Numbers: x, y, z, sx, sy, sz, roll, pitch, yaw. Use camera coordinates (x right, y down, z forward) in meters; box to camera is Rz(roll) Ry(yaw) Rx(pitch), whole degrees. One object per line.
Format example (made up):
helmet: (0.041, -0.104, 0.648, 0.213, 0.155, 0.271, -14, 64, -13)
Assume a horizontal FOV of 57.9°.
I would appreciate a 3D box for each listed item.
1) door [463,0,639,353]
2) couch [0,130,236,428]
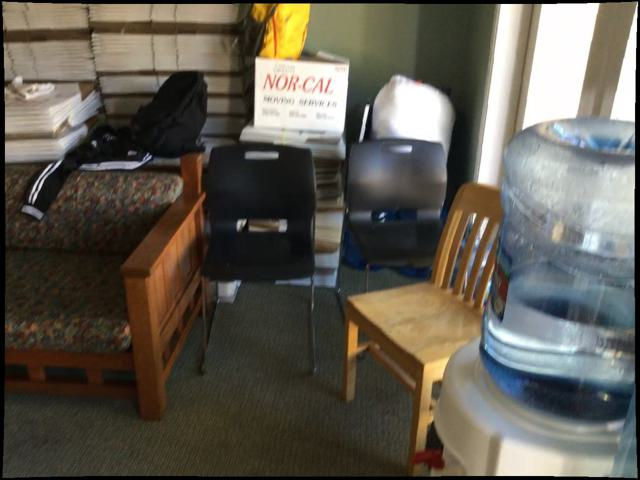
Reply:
door: (0.859, -0.641, 2.110, 0.300, 1.631, 1.240, 3, 25, 4)
couch: (-1.439, 0.050, 2.450, 1.928, 0.761, 1.070, 3, 25, 4)
